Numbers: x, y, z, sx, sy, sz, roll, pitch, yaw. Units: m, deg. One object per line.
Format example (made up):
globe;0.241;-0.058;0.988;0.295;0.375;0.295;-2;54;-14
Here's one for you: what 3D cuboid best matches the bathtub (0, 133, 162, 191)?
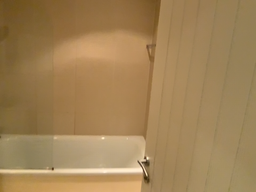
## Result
bathtub;-0.600;0.780;2.110;1.670;0.550;0.730;2;13;-9
